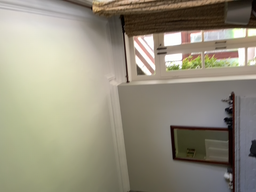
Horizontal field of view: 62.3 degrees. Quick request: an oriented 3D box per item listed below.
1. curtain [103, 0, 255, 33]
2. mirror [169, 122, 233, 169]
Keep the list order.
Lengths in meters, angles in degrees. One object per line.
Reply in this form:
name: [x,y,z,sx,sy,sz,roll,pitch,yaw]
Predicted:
curtain: [1.010,-1.270,2.900,0.390,2.750,0.450,-34,-59,-68]
mirror: [1.100,0.740,3.240,0.210,0.870,0.640,-40,-54,-66]
